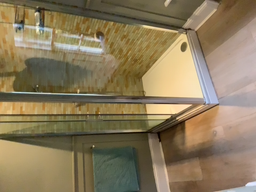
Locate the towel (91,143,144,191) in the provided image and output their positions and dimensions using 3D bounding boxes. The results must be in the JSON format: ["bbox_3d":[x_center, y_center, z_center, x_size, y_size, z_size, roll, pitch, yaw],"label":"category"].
[{"bbox_3d":[-0.130,0.860,2.590,0.090,0.590,0.520,136,132,-58],"label":"towel"}]
